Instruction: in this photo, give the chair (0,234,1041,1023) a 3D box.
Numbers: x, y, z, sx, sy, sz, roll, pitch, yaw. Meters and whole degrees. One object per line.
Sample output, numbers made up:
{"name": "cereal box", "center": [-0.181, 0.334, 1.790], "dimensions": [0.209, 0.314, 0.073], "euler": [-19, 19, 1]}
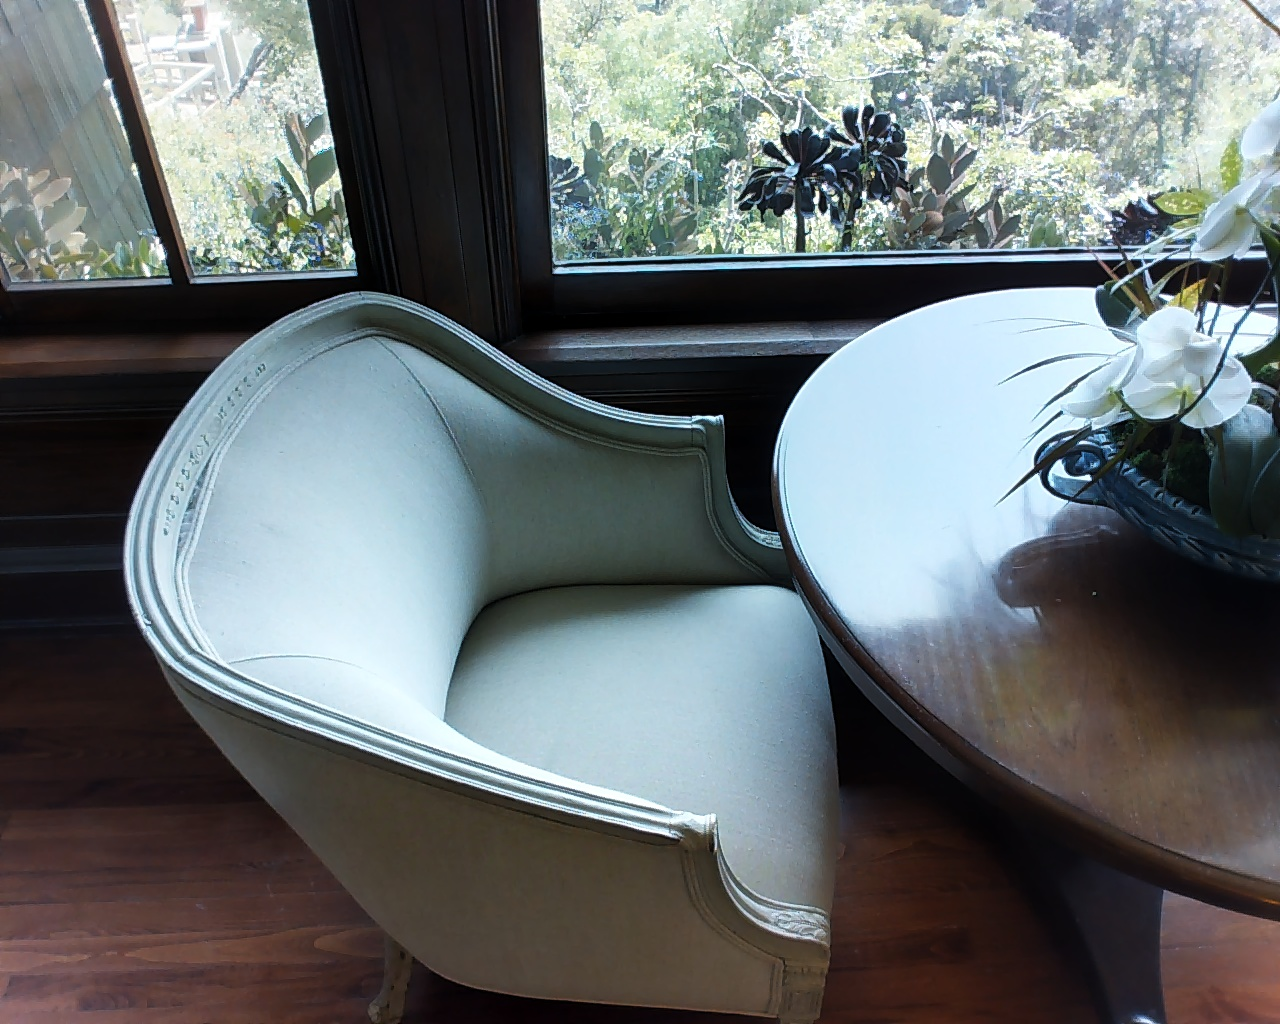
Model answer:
{"name": "chair", "center": [-0.120, 0.230, 1.440], "dimensions": [0.890, 0.890, 0.790], "euler": [1, 42, 1]}
